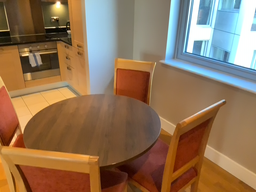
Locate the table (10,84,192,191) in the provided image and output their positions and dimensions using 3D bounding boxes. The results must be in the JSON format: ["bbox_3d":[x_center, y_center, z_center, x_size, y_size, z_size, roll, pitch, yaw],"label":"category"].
[{"bbox_3d":[-0.240,0.500,1.640,0.920,0.770,0.940,-15,30,-32],"label":"table"}]
